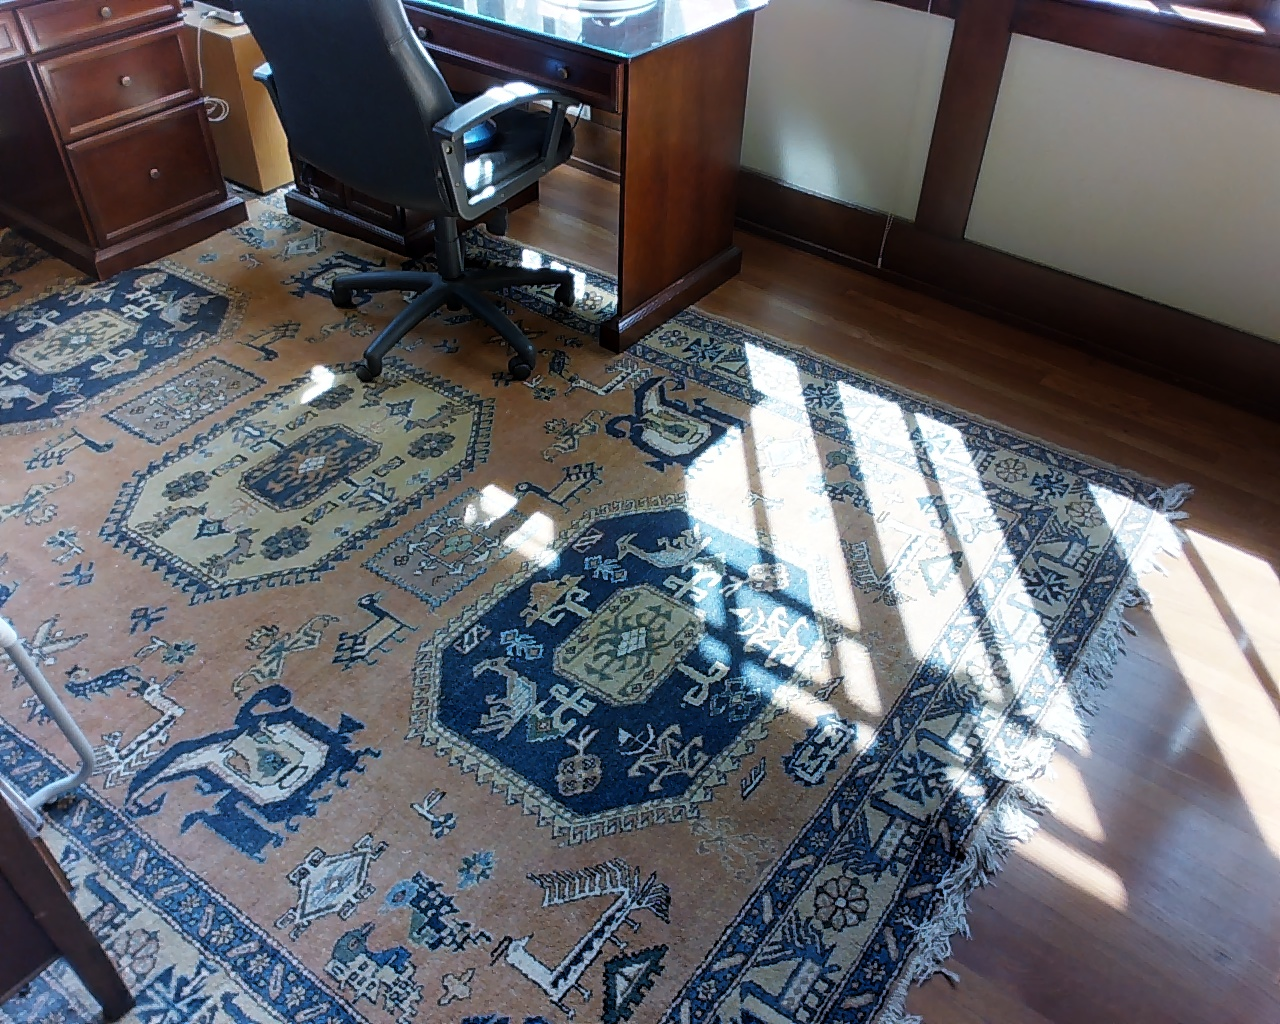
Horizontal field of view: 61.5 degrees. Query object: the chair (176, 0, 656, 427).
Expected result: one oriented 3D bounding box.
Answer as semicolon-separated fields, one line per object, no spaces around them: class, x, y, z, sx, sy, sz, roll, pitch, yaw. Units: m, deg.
chair;-0.480;-0.970;2.640;0.670;1.080;0.860;24;47;23
